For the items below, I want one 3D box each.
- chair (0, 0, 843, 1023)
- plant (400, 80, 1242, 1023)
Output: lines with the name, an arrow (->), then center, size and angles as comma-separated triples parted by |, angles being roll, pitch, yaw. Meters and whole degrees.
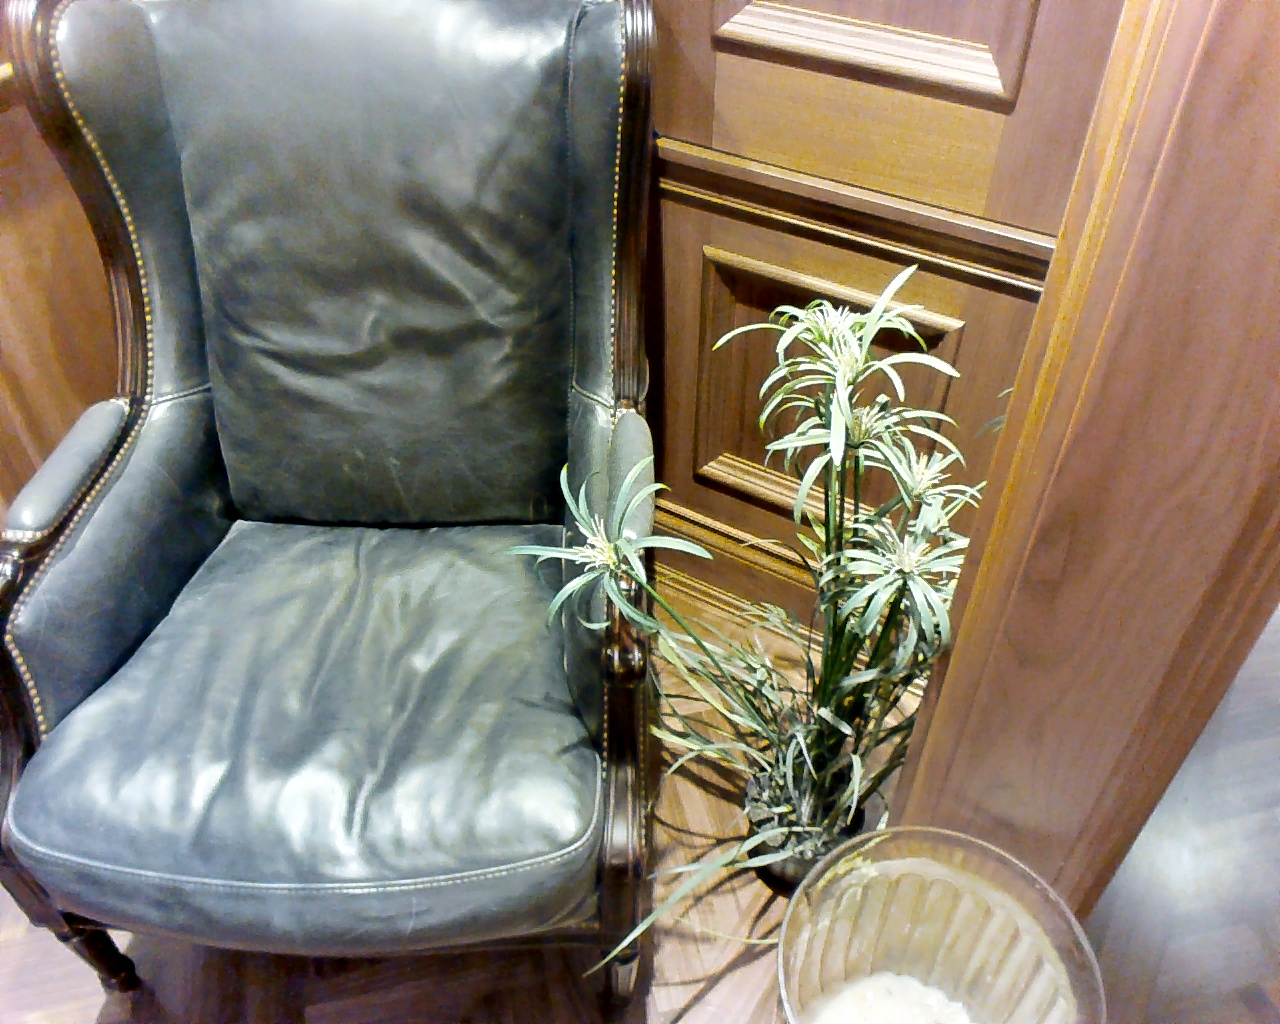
chair -> -0.310, -0.010, 1.330 | 0.860, 1.110, 1.070 | 1, 44, 1
plant -> 0.220, 0.130, 1.300 | 0.490, 0.950, 0.760 | 23, 48, 22
